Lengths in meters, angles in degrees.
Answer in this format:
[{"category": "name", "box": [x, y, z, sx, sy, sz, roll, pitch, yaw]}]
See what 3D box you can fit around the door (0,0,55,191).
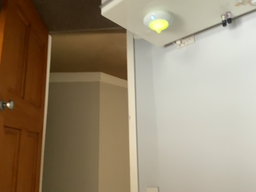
[{"category": "door", "box": [-0.710, 0.300, 1.440, 0.050, 2.010, 0.910, 0, 167, -3]}]
